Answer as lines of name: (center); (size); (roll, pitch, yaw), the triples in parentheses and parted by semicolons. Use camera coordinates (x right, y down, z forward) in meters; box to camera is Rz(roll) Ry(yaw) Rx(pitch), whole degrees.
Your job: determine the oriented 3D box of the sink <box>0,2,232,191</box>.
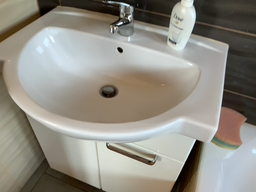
sink: (-0.070, -0.040, 0.650); (0.650, 0.190, 0.460); (19, 48, 13)
